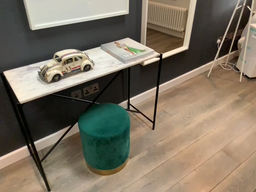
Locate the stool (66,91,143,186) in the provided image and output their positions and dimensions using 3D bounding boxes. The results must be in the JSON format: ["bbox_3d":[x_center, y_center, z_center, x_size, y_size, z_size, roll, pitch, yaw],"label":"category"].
[{"bbox_3d":[-0.170,0.300,1.590,0.390,0.440,0.390,-22,41,-28],"label":"stool"}]
